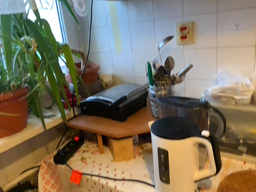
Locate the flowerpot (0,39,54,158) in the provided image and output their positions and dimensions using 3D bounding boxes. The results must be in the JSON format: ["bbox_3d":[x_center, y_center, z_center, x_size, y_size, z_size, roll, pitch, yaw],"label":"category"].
[{"bbox_3d":[-0.480,-0.010,0.790,0.250,0.360,0.210,7,22,34],"label":"flowerpot"}]

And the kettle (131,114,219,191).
[{"bbox_3d":[0.150,0.210,0.650,0.190,0.230,0.180,8,23,37],"label":"kettle"}]
